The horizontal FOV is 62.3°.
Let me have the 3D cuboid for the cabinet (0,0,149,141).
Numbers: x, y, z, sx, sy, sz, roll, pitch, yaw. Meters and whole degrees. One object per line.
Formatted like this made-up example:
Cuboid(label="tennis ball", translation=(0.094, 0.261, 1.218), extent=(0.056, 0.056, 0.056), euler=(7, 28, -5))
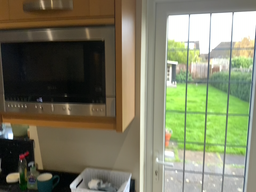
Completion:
Cuboid(label="cabinet", translation=(-0.320, -0.270, 1.040), extent=(0.800, 0.830, 0.360), euler=(2, 8, 12))
